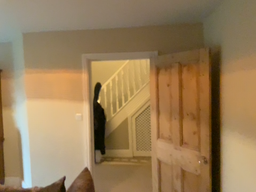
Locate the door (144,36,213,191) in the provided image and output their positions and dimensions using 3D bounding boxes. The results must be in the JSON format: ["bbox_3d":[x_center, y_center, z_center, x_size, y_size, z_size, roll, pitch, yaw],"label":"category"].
[{"bbox_3d":[0.530,0.470,2.460,0.090,2.120,0.930,-4,5,-36],"label":"door"}]
